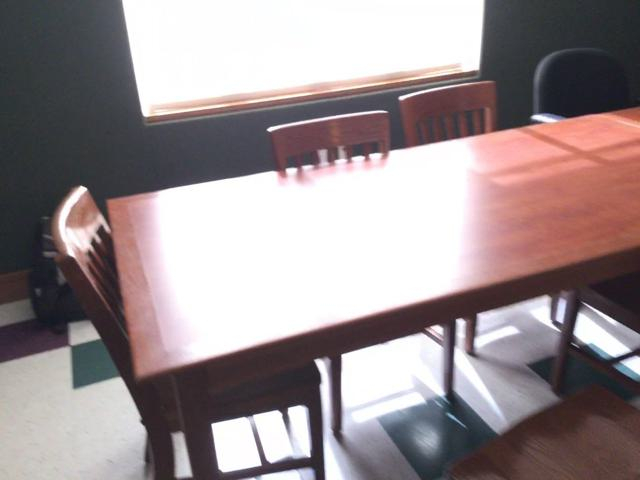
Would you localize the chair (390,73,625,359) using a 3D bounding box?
[{"bbox_3d":[0.670,-0.130,2.250,0.580,0.880,0.560,-13,26,-18],"label":"chair"}]

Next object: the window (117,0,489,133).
[{"bbox_3d":[-0.030,-1.370,2.650,1.800,1.450,0.230,-13,26,-18],"label":"window"}]

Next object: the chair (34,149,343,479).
[{"bbox_3d":[-0.310,0.300,1.500,0.550,0.890,0.500,-13,26,-18],"label":"chair"}]

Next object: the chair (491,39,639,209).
[{"bbox_3d":[1.220,-0.540,2.510,0.670,0.530,0.580,-13,26,-18],"label":"chair"}]

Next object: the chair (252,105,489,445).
[{"bbox_3d":[0.150,0.080,1.900,0.520,0.880,0.530,-13,26,-18],"label":"chair"}]

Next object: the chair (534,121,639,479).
[{"bbox_3d":[1.040,0.160,1.610,0.520,0.870,0.570,-13,26,-18],"label":"chair"}]
